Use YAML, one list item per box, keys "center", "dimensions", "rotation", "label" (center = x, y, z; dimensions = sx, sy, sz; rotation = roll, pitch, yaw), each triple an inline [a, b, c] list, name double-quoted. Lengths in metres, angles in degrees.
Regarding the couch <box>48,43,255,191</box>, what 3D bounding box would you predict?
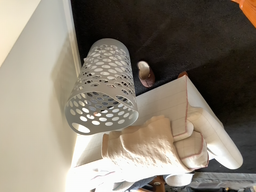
- center: [0.230, 0.450, 1.960]
  dimensions: [1.280, 0.850, 1.100]
  rotation: [-24, 133, 25]
  label: "couch"
